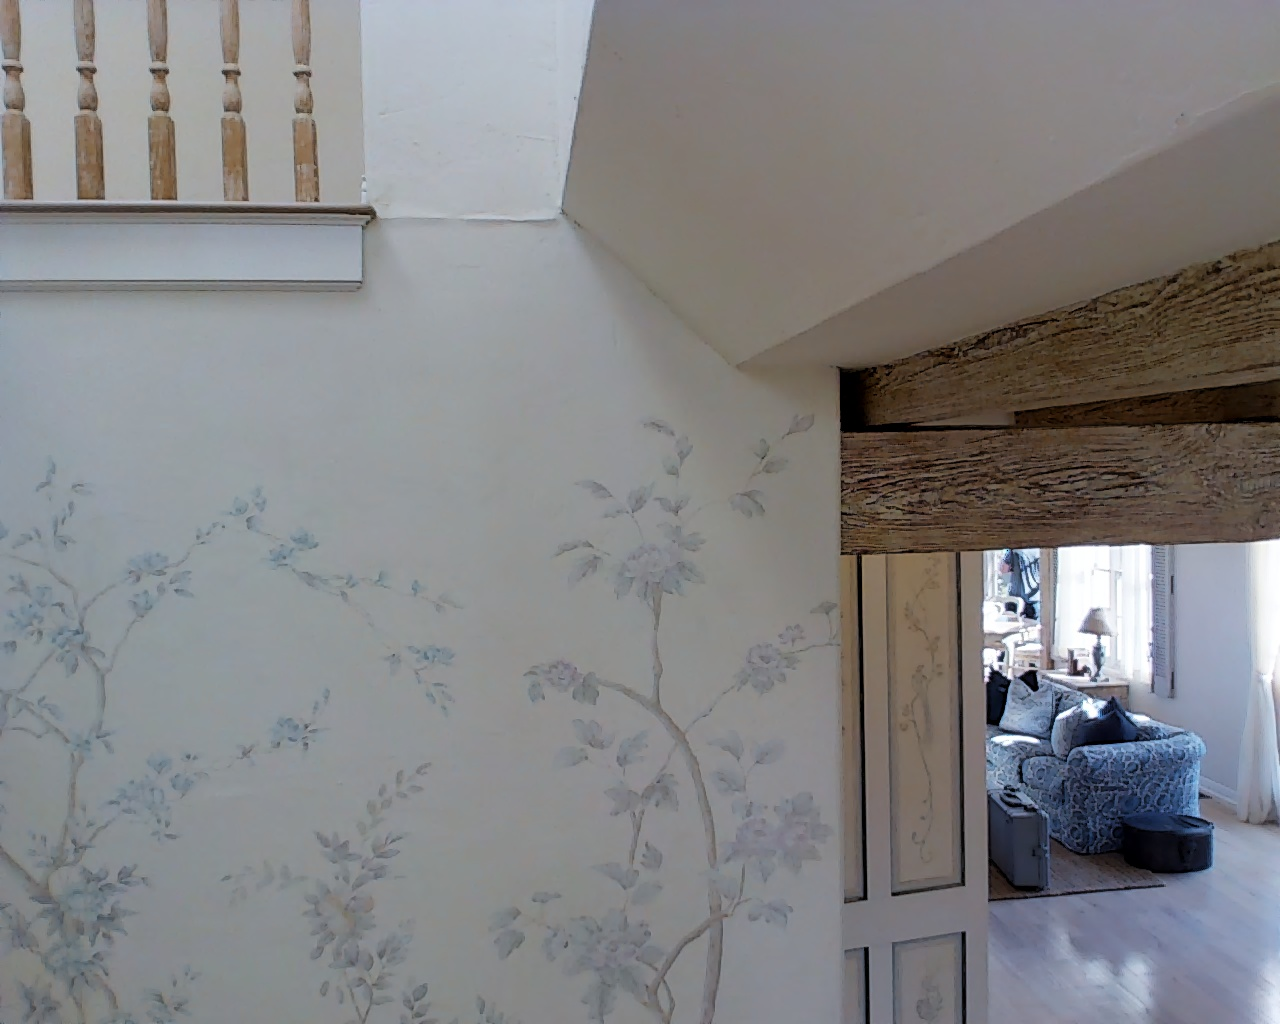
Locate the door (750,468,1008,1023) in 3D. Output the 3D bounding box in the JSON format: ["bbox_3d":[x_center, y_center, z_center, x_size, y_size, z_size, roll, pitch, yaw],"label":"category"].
[{"bbox_3d":[0.900,1.120,3.950,0.970,2.541,0.090,-2,2,-15],"label":"door"}]
